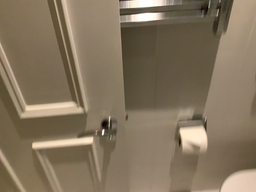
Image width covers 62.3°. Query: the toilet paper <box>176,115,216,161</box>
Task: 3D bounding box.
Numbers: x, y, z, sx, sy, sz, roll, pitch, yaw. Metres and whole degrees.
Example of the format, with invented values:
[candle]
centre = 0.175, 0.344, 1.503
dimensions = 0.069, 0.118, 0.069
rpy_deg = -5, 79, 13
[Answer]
[toilet paper]
centre = 0.310, 0.200, 1.000
dimensions = 0.130, 0.210, 0.090
rpy_deg = -4, 37, -1
